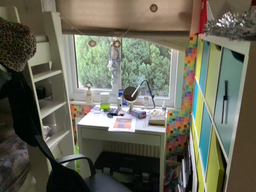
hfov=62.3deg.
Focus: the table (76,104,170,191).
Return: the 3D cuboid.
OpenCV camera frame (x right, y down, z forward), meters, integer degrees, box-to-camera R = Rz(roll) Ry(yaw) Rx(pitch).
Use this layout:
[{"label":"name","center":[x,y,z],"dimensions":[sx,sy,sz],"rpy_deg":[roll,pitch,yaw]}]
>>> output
[{"label":"table","center":[0.000,0.550,2.120],"dimensions":[0.770,0.740,0.620],"rpy_deg":[3,16,12]}]
